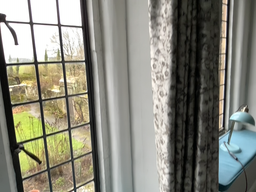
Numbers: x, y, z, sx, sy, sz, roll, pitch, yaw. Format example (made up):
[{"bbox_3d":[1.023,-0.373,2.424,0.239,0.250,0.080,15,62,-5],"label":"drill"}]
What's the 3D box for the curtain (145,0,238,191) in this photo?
[{"bbox_3d":[0.280,0.090,0.930,0.350,2.330,0.200,-12,14,-41],"label":"curtain"}]
